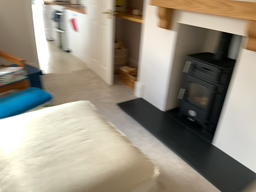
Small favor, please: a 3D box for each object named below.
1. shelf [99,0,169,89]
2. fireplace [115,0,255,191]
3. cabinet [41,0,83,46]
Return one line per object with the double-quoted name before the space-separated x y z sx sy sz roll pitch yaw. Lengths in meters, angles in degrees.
"shelf" 0.020 -1.160 3.100 0.430 1.790 1.090 -12 31 -31
"fireplace" 0.700 -0.200 1.980 0.930 1.190 1.540 -12 31 -31
"cabinet" -1.690 -1.890 5.380 0.650 0.930 1.110 -13 32 -32
